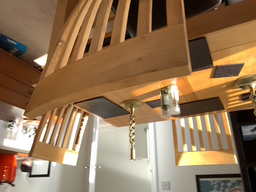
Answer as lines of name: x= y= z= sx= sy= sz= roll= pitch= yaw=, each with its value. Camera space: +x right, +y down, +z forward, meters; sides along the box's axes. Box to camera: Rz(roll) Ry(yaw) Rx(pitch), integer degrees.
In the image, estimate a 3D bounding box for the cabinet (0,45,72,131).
cabinet: x=-1.020 y=-0.010 z=1.990 sx=0.460 sy=0.460 sz=0.860 roll=-12 pitch=154 yaw=25
